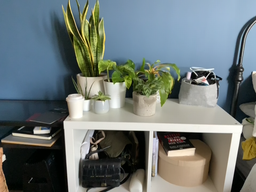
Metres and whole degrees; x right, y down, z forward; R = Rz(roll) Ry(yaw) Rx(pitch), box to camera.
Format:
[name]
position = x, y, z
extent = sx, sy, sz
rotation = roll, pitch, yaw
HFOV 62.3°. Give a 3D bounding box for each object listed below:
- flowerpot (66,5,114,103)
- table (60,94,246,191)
[flowerpot]
position = -0.190, -0.220, 1.150
extent = 0.220, 0.480, 0.160
rotation = 1, 15, -1
[table]
position = 0.100, 0.410, 1.210
extent = 0.800, 0.740, 0.410
rotation = 2, 15, 1
